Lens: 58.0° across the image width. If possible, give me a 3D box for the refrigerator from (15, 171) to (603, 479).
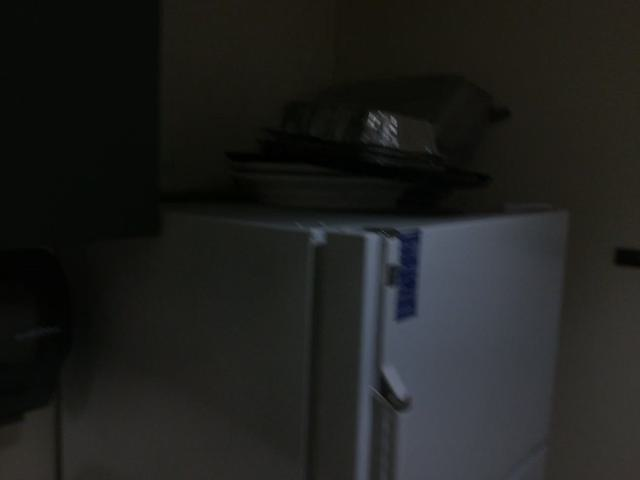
[{"bbox_3d":[-0.030,0.710,1.280,0.830,1.620,0.890,9,7,37],"label":"refrigerator"}]
